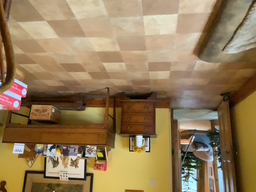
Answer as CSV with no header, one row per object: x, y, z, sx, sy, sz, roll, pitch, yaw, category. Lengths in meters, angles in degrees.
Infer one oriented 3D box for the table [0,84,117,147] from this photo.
-1.090,0.330,3.380,1.690,0.860,0.650,0,164,8,table

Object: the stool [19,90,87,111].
-1.260,0.080,3.620,1.010,0.260,0.380,0,164,8,stool

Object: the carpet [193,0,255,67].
0.960,-0.500,1.540,0.740,0.110,1.140,0,164,6,carpet
